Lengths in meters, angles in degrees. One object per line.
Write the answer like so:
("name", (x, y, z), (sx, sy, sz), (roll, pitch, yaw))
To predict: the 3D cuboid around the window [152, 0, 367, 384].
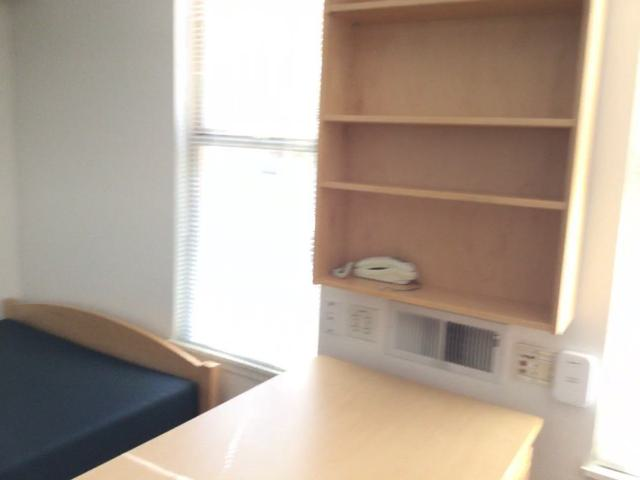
("window", (-0.250, -0.370, 2.260), (0.820, 1.690, 0.260), (4, 8, 31))
